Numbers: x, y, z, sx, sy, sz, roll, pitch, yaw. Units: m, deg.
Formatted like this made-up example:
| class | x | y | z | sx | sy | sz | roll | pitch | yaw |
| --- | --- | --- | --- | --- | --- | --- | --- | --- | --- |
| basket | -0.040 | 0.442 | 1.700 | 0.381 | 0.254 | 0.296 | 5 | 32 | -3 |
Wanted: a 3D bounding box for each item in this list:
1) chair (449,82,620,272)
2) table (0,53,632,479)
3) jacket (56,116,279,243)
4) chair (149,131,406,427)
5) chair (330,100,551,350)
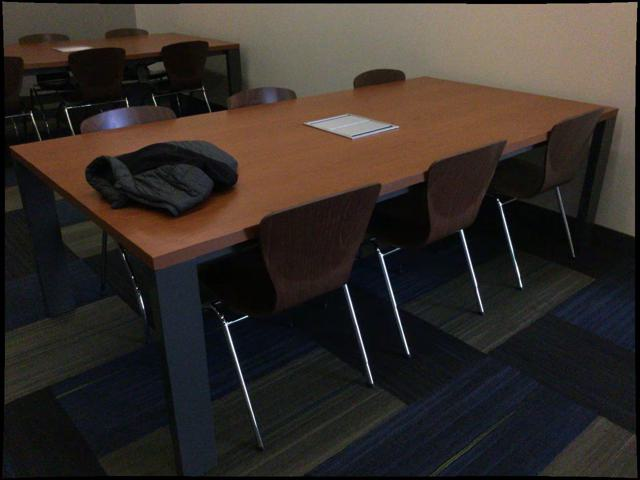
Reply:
| class | x | y | z | sx | sy | sz | roll | pitch | yaw |
| --- | --- | --- | --- | --- | --- | --- | --- | --- | --- |
| chair | 1.047 | -0.341 | 2.850 | 0.689 | 0.701 | 0.400 | -23 | 35 | -36 |
| table | 0.090 | -0.190 | 2.680 | 2.527 | 0.842 | 1.409 | -23 | 35 | -36 |
| jacket | -0.479 | -0.221 | 1.820 | 0.489 | 0.150 | 0.500 | -23 | 35 | -36 |
| chair | -0.140 | 0.080 | 1.950 | 0.539 | 0.671 | 0.609 | -23 | 35 | -36 |
| chair | 0.489 | -0.110 | 2.440 | 0.759 | 0.752 | 0.490 | -23 | 35 | -36 |
